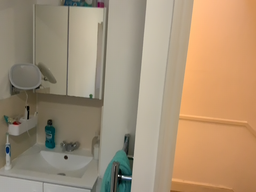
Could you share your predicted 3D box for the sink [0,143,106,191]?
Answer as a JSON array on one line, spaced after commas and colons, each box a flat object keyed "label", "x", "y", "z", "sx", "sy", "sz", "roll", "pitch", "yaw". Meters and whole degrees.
[{"label": "sink", "x": -0.500, "y": 0.520, "z": 1.490, "sx": 0.600, "sy": 0.130, "sz": 0.460, "roll": 7, "pitch": 11, "yaw": 6}]
